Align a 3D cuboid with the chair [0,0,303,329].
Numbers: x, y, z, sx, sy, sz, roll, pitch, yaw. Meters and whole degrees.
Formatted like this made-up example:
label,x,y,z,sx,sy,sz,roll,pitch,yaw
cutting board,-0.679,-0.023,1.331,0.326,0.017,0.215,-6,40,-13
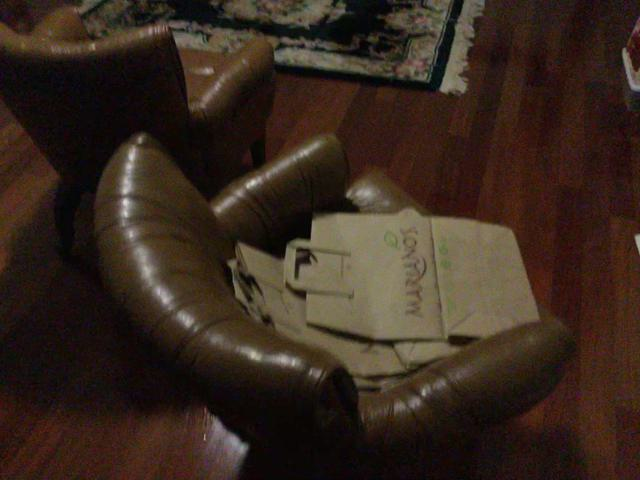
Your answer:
label,x,y,z,sx,sy,sz,roll,pitch,yaw
chair,-0.470,-0.340,1.560,0.670,0.790,0.690,12,47,10
